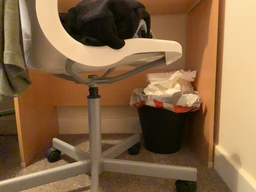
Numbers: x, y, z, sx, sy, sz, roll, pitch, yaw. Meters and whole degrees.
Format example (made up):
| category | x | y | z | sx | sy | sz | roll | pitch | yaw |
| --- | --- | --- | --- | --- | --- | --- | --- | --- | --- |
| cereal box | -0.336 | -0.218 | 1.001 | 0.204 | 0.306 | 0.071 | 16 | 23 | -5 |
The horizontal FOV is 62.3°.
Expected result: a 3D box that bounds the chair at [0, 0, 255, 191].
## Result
| category | x | y | z | sx | sy | sz | roll | pitch | yaw |
| --- | --- | --- | --- | --- | --- | --- | --- | --- | --- |
| chair | -0.120 | -0.060 | 0.640 | 0.650 | 0.750 | 0.660 | -4 | 10 | -19 |
